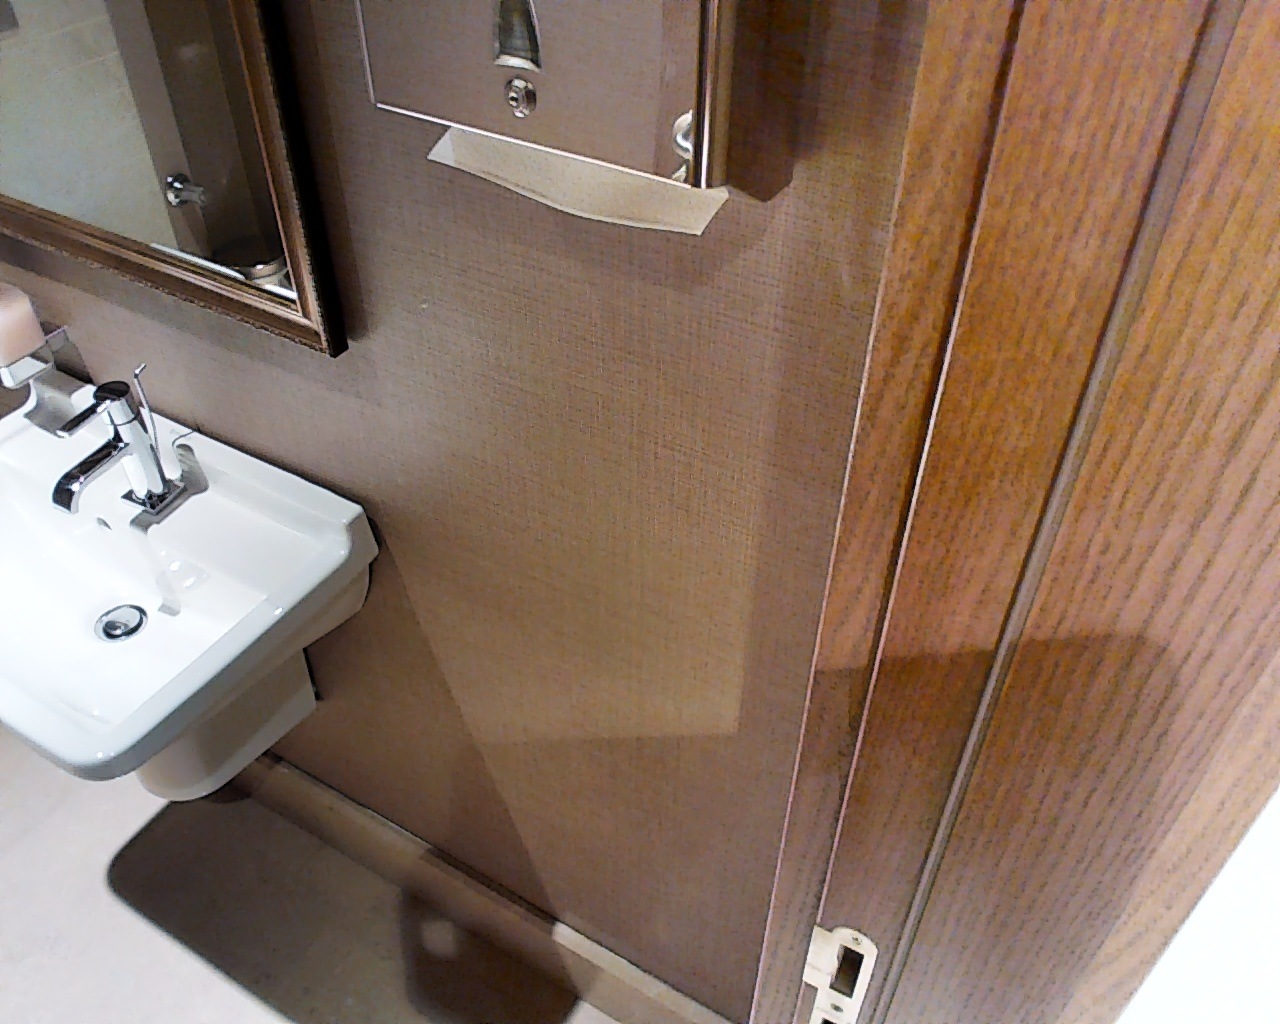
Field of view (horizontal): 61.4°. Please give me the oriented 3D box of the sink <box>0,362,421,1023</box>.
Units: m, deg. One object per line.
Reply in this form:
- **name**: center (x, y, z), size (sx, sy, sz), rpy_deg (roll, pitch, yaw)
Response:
- **sink**: center (-0.650, 0.200, 1.310), size (0.590, 0.490, 0.380), rpy_deg (22, 46, 23)
